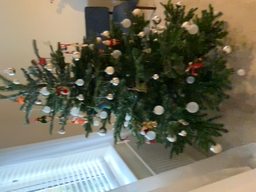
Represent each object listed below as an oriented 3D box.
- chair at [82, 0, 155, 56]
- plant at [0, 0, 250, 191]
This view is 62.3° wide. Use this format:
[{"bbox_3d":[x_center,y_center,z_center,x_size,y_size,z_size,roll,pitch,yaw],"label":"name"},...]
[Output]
[{"bbox_3d":[-0.150,-0.880,2.800,0.710,0.730,0.620,-151,58,-62],"label":"chair"},{"bbox_3d":[-0.130,-0.090,1.740,1.070,1.650,1.300,-154,61,-63],"label":"plant"}]
